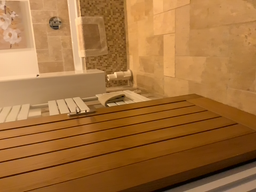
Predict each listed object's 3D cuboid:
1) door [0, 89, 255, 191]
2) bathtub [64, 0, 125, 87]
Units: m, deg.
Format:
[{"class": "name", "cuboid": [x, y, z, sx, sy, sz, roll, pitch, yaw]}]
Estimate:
[{"class": "door", "cuboid": [-0.220, 0.200, 1.080, 0.940, 1.930, 0.070, -149, 54, -64]}, {"class": "bathtub", "cuboid": [-0.560, -1.200, 3.220, 0.900, 0.650, 1.950, -152, 57, -65]}]
